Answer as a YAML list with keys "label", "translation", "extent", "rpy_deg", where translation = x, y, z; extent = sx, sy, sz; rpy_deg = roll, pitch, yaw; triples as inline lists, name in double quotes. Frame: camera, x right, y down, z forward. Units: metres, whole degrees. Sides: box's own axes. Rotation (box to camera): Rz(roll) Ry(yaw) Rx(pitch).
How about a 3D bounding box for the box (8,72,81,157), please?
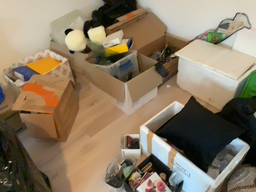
- label: "box"
  translation: [-0.690, 0.130, 1.760]
  extent: [0.380, 0.370, 0.500]
  rpy_deg: [-22, 44, -20]
